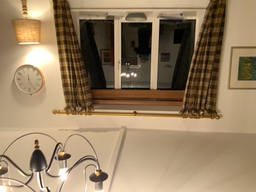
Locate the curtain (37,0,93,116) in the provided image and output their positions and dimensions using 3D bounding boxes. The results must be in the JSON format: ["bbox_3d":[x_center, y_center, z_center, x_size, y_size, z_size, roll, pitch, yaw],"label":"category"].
[{"bbox_3d":[-0.780,-0.580,2.710,0.600,1.680,0.190,1,-169,2],"label":"curtain"}]

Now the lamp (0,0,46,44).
[{"bbox_3d":[-1.240,-0.990,2.490,0.380,0.710,0.320,1,-169,2],"label":"lamp"}]

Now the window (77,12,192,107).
[{"bbox_3d":[0.080,-0.540,3.220,1.640,1.360,0.160,1,-169,4],"label":"window"}]

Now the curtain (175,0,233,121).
[{"bbox_3d":[0.910,-0.680,2.570,0.560,2.000,0.160,1,-169,1],"label":"curtain"}]
